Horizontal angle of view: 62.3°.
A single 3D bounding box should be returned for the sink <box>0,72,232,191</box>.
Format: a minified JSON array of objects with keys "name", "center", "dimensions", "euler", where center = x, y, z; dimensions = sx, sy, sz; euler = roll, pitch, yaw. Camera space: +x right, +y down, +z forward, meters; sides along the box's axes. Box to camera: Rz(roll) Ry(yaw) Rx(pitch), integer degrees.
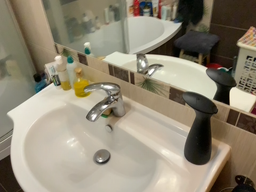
[{"name":"sink","center":[-0.150,0.220,0.830],"dimensions":[0.870,0.170,0.500],"euler":[25,46,32]}]
